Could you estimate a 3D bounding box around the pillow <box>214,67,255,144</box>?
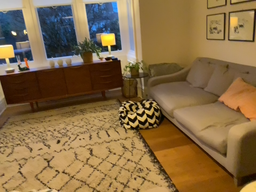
[{"bbox_3d":[1.110,0.080,2.140,0.130,0.350,0.700,-11,51,0],"label":"pillow"}]
